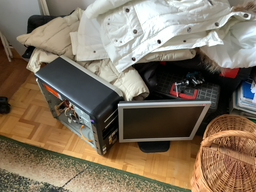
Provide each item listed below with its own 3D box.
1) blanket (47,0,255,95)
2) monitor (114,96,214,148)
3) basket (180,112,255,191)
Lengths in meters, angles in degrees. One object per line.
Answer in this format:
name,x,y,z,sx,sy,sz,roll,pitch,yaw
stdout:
blanket,0.180,-0.360,0.960,0.920,0.330,0.410,13,52,9
monitor,0.140,0.140,1.010,0.400,0.390,0.040,0,51,-2
basket,0.410,0.330,0.940,0.280,0.270,0.370,13,52,9
